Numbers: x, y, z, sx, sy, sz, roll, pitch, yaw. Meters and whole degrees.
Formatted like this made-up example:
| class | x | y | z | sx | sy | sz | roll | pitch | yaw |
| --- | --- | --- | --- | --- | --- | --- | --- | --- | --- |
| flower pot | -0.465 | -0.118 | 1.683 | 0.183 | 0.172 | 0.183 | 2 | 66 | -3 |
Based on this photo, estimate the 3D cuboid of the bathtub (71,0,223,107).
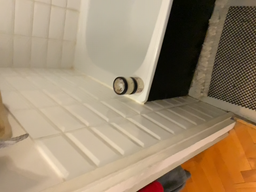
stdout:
| class | x | y | z | sx | sy | sz | roll | pitch | yaw |
| --- | --- | --- | --- | --- | --- | --- | --- | --- | --- |
| bathtub | 0.170 | -0.720 | 1.310 | 0.680 | 0.560 | 1.350 | 28 | 113 | 37 |
